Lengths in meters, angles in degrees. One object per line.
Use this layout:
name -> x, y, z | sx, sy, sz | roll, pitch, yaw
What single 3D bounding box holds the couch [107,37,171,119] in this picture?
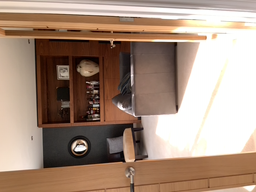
couch -> 0.100, -0.250, 3.520 | 1.240, 0.760, 1.090 | 180, 89, -79
